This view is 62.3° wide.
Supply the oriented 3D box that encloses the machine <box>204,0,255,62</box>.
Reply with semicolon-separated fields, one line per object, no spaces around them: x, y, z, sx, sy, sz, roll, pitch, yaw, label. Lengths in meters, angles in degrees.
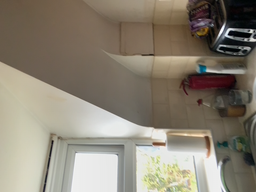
0.550;-0.380;1.100;0.300;0.180;0.280;89;-179;-63;machine
